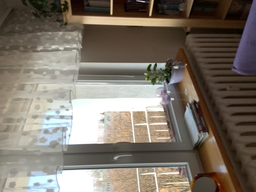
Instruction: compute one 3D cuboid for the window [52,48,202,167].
[{"bbox_3d":[-0.030,0.010,1.730,0.130,0.950,1.070,97,171,-50],"label":"window"}]
